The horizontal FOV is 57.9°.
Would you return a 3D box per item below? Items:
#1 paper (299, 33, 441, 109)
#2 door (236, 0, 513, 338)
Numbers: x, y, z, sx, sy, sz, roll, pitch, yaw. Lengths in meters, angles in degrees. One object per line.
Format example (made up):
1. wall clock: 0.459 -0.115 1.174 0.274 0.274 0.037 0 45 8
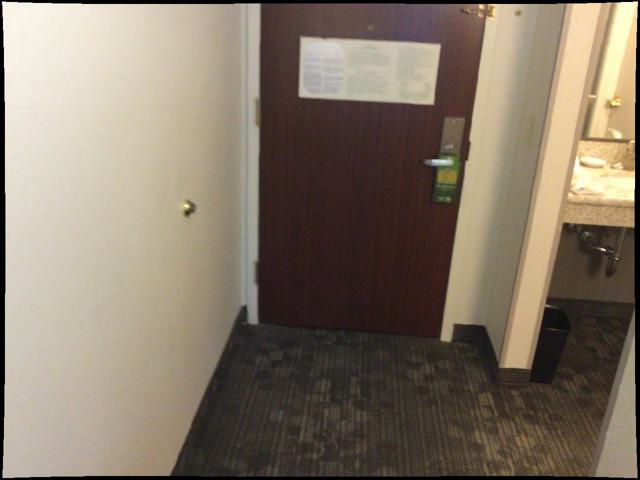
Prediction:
1. paper: 0.200 -0.701 2.400 0.559 0.250 0.040 6 22 1
2. door: 0.180 -0.501 2.470 1.019 1.952 0.160 6 24 2
